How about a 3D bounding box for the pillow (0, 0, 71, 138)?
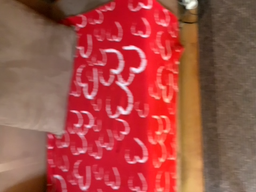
[{"bbox_3d":[-0.640,-0.190,1.030,0.370,0.590,0.730,0,89,36],"label":"pillow"}]
